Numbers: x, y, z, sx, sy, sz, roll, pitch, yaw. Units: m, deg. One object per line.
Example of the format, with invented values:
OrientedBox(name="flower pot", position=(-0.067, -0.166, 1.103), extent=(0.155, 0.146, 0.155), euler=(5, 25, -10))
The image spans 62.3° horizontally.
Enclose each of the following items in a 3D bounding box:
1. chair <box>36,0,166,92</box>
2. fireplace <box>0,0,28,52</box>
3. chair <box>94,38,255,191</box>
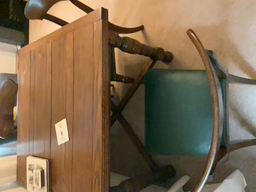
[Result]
OrientedBox(name="chair", position=(-0.150, -0.330, 1.520), extent=(0.470, 0.800, 0.550), euler=(-2, 86, 42))
OrientedBox(name="fireplace", position=(-2.110, -1.360, 3.270), extent=(0.210, 1.020, 1.160), euler=(-2, 86, 42))
OrientedBox(name="chair", position=(0.330, 0.090, 1.050), extent=(0.560, 0.800, 0.460), euler=(-1, 87, 42))
